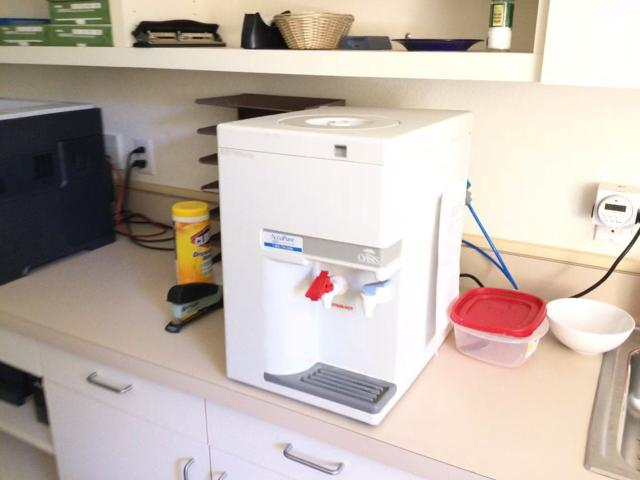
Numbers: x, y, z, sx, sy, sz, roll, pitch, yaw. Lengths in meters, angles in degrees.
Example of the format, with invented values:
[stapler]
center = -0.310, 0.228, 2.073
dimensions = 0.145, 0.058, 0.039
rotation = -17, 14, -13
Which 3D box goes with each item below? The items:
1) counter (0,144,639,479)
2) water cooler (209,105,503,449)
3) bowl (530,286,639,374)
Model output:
[counter]
center = -0.080, 0.120, 1.300
dimensions = 2.890, 0.260, 0.680
rotation = 12, 21, 27
[water cooler]
center = 0.080, 0.010, 1.060
dimensions = 0.340, 0.450, 0.450
rotation = 12, 21, 27
[bowl]
center = 0.530, 0.170, 1.150
dimensions = 0.170, 0.060, 0.200
rotation = 12, 21, 27
